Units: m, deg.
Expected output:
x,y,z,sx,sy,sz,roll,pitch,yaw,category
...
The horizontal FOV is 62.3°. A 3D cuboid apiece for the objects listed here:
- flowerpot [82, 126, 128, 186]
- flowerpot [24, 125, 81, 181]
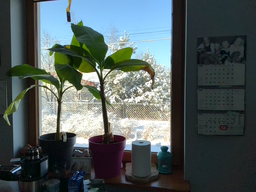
x,y,z,sx,sy,sz,roll,pitch,yaw,category
-0.170,0.460,1.710,0.280,0.360,0.330,1,3,12,flowerpot
-0.620,0.460,1.810,0.280,0.340,0.400,1,3,13,flowerpot
